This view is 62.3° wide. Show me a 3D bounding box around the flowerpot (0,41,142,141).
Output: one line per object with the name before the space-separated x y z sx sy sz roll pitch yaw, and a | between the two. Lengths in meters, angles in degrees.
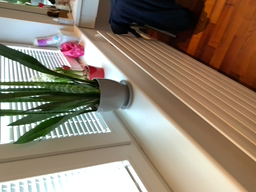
flowerpot | -0.310 -0.040 0.970 0.330 0.620 0.280 46 129 49

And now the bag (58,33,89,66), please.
bag | -0.430 -0.360 1.640 0.220 0.160 0.180 46 128 49

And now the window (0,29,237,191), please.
window | -0.630 0.070 0.780 2.200 1.550 0.150 46 129 49
